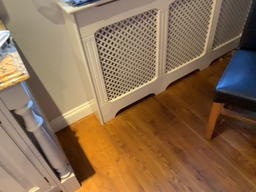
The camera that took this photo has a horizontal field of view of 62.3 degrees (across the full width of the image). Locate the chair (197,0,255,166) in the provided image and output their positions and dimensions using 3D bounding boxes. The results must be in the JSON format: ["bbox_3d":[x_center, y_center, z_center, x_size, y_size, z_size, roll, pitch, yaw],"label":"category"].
[{"bbox_3d":[0.810,-0.200,1.180,0.480,1.130,0.630,19,50,22],"label":"chair"}]
